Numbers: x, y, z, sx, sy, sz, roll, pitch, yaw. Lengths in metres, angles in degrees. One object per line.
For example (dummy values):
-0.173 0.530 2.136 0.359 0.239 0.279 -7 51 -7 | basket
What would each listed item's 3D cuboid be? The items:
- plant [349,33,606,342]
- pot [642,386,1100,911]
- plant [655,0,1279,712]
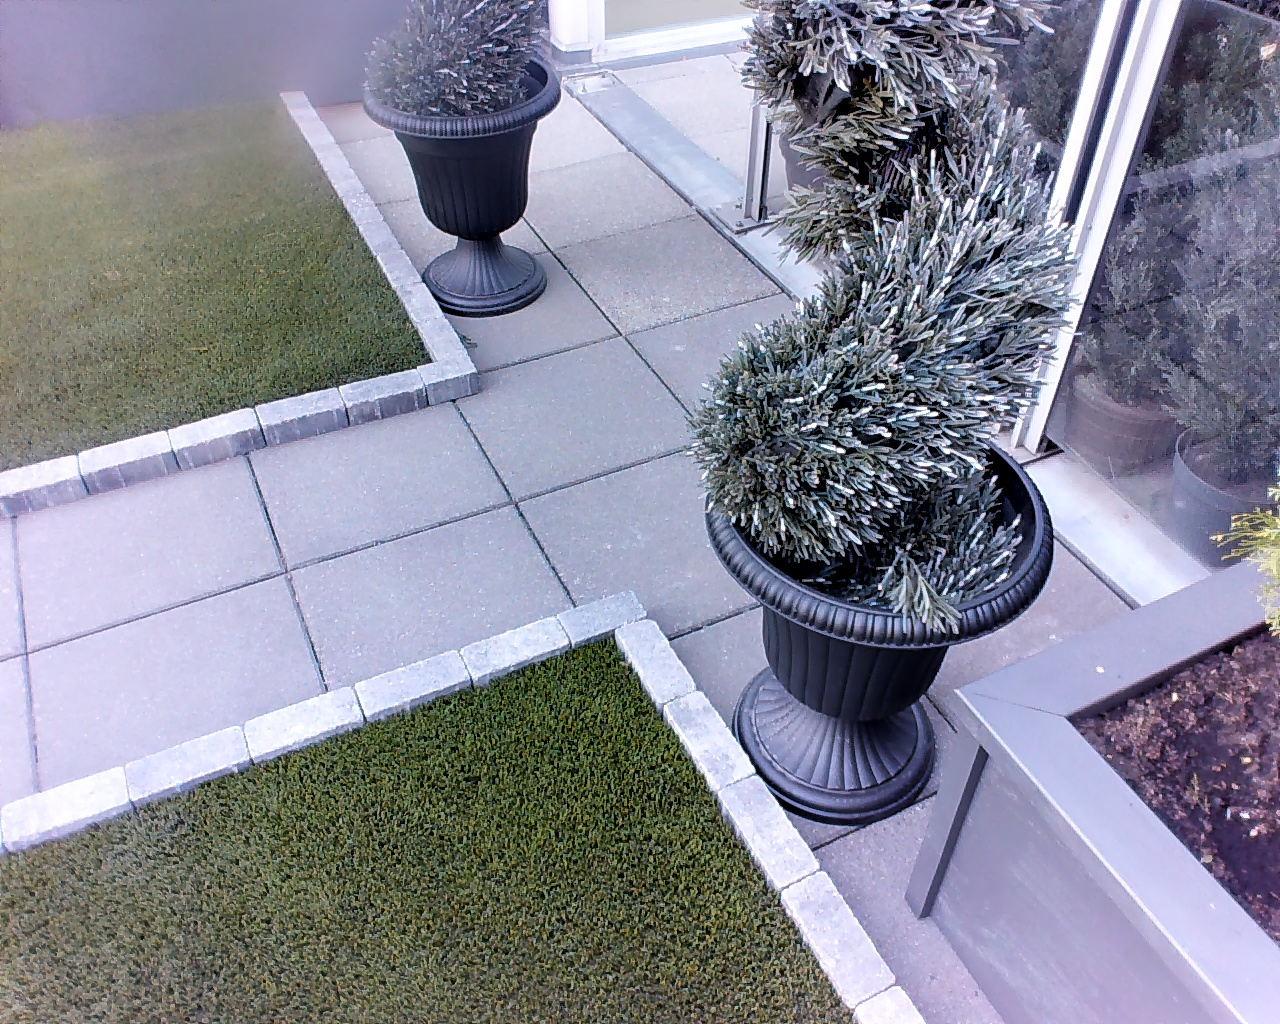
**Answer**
-0.390 -0.810 2.650 0.470 0.530 0.440 -17 45 -18 | plant
0.310 0.190 1.600 0.440 0.490 0.420 -31 51 -30 | pot
0.330 -0.430 1.040 0.430 1.230 0.440 -27 49 -27 | plant
